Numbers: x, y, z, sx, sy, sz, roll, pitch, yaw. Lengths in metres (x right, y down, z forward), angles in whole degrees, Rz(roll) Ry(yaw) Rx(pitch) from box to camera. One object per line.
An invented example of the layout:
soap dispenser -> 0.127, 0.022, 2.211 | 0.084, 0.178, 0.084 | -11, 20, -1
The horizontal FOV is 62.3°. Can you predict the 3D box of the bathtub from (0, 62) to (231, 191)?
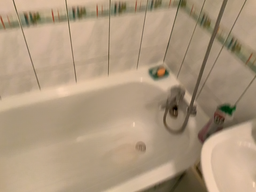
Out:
bathtub -> -0.390, 0.400, 1.180 | 1.620, 0.580, 0.670 | -15, 52, -20
